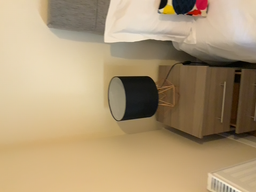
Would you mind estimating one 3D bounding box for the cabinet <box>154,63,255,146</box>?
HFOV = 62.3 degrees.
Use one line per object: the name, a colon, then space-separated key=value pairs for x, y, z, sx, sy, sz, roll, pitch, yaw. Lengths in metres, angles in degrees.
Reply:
cabinet: x=0.540 y=0.010 z=1.440 sx=0.450 sy=0.530 sz=0.440 roll=19 pitch=109 yaw=61
